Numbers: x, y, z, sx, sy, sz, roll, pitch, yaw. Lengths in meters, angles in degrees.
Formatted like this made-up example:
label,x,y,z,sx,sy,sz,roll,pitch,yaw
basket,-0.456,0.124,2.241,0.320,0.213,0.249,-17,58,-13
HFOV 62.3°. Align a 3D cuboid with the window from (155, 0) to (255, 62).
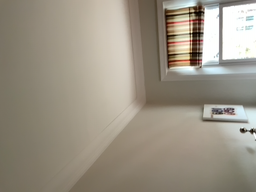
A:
label,x,y,z,sx,sy,sz,roll,pitch,yaw
window,1.460,-1.180,3.590,0.310,1.910,1.060,-30,-62,-66
